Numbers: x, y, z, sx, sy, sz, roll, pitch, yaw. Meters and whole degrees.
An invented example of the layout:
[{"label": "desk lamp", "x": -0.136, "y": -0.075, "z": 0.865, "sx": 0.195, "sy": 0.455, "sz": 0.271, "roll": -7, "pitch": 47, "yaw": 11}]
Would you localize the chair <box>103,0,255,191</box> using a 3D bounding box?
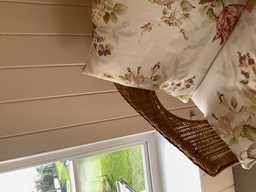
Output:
[{"label": "chair", "x": 0.400, "y": -0.160, "z": 0.780, "sx": 0.590, "sy": 0.760, "sz": 0.620, "roll": 57, "pitch": 144, "yaw": 42}]
